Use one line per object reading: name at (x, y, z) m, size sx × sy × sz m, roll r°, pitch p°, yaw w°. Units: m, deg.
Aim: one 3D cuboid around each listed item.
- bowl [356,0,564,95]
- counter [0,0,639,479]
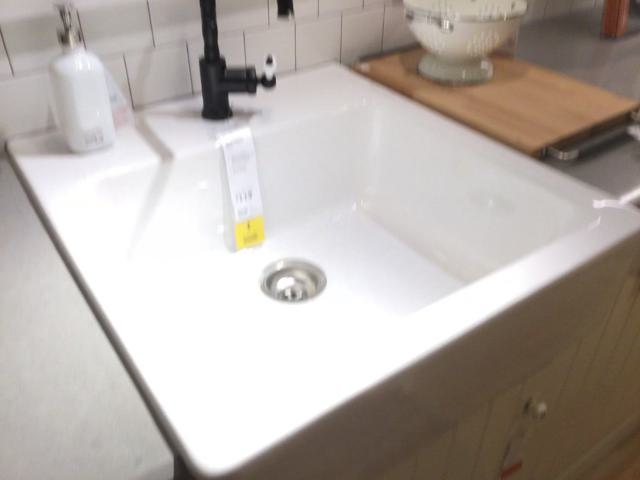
bowl at (0.250, -0.390, 1.080) m, size 0.240 × 0.100 × 0.280 m, roll -24°, pitch 42°, yaw -28°
counter at (0.440, -0.240, 1.080) m, size 2.990 × 0.090 × 0.760 m, roll -24°, pitch 42°, yaw -28°
